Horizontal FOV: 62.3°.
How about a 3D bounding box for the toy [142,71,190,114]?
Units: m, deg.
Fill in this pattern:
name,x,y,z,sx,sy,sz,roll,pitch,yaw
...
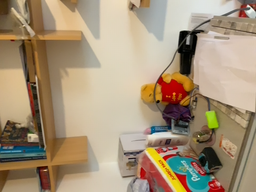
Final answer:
name,x,y,z,sx,sy,sz,roll,pitch,yaw
toy,0.180,-0.020,1.050,0.140,0.180,0.170,-118,29,-65
